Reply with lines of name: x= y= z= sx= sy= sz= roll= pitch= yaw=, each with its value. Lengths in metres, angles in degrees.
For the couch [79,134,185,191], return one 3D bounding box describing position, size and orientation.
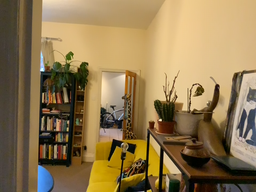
couch: x=-0.070 y=1.140 z=2.870 sx=0.940 sy=0.750 sz=1.980 roll=3 pitch=3 yaw=-6
